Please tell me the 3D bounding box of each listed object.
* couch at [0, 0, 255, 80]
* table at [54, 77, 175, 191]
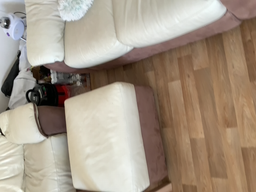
[{"bbox_3d":[-0.170,-0.710,1.210,1.600,0.980,0.970,-7,86,41],"label":"couch"},{"bbox_3d":[-0.110,0.280,1.490,0.600,0.490,0.670,-14,81,40],"label":"table"}]
